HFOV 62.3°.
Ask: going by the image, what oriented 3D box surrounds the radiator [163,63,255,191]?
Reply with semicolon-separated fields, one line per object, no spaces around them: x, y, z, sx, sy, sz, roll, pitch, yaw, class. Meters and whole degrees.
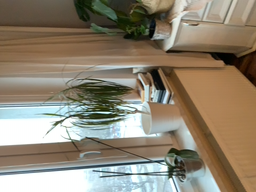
0.800;0.270;1.410;1.330;0.730;0.280;-105;20;-48;radiator
